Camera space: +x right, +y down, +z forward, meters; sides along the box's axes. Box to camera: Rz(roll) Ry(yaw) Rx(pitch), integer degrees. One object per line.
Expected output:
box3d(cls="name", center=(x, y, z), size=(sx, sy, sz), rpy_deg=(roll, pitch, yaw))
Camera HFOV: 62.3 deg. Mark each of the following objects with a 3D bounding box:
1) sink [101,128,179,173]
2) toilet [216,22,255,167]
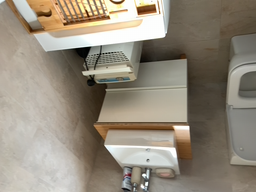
box3d(cls="sink", center=(0.110, 0.390, 1.490), size=(0.450, 0.120, 0.450), rpy_deg=(-2, 142, 17))
box3d(cls="toilet", center=(0.880, -0.010, 1.460), size=(0.400, 0.790, 0.610), rpy_deg=(-2, 142, 17))
